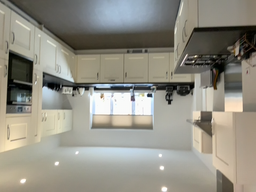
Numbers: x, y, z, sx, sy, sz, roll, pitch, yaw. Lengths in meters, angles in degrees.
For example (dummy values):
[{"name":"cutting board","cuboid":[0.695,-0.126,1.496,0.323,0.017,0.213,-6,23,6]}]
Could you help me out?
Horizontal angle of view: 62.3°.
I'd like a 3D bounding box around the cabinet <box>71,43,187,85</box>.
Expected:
[{"name":"cabinet","cuboid":[0.010,-0.780,5.450,2.820,0.930,0.600,0,177,5]}]
